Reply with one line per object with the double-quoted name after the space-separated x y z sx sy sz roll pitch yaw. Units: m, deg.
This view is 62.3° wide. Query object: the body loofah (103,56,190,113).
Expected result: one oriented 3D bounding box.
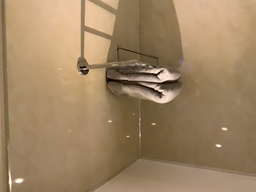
0.120 -0.060 1.160 0.340 0.240 0.390 1 -177 29 "body loofah"
